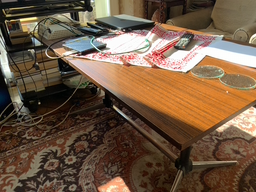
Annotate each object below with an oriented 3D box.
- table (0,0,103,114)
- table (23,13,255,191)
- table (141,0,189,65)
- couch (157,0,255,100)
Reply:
[{"bbox_3d":[-0.640,-0.370,1.690,0.640,0.680,0.540,-19,36,-28],"label":"table"},{"bbox_3d":[0.030,-0.020,1.160,0.710,0.580,1.220,-21,36,-30],"label":"table"},{"bbox_3d":[0.370,-0.690,2.220,0.370,0.610,0.270,-20,36,-28],"label":"table"},{"bbox_3d":[0.860,-0.660,1.850,0.840,0.940,0.790,-19,35,-27],"label":"couch"}]
